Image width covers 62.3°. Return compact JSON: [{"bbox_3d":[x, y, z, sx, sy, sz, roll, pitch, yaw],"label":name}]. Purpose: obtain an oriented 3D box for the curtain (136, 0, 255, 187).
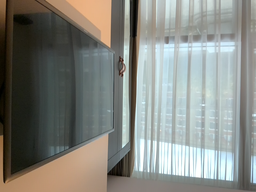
[{"bbox_3d":[0.980,-0.290,2.250,1.750,2.390,0.110,1,180,14],"label":"curtain"}]
